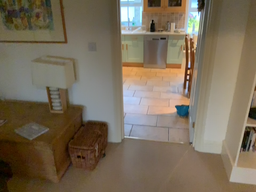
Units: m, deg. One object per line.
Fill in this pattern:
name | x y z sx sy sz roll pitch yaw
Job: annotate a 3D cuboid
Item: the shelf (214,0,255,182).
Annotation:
shelf | 1.120 -0.190 1.770 0.410 1.980 0.390 3 24 8
